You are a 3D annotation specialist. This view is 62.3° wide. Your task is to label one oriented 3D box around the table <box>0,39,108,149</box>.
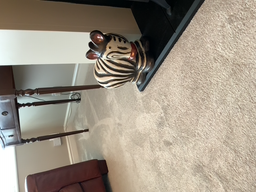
[{"bbox_3d":[-0.680,0.000,1.770,0.450,0.750,0.840,69,150,27],"label":"table"}]
